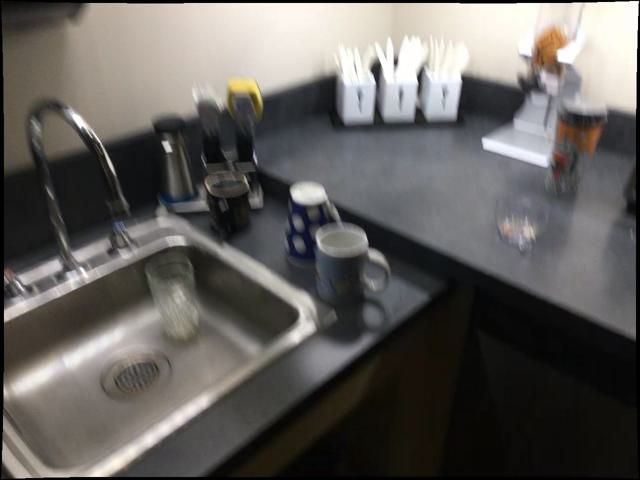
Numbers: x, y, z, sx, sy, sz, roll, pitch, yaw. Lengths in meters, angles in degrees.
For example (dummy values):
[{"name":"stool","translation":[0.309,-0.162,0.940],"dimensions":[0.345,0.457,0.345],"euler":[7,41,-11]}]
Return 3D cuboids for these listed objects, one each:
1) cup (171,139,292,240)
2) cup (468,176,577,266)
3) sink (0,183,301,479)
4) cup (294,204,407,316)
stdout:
[{"name":"cup","translation":[-0.180,-0.110,1.190],"dimensions":[0.180,0.100,0.160],"euler":[27,44,34]},{"name":"cup","translation":[0.369,-0.040,1.050],"dimensions":[0.110,0.060,0.180],"euler":[27,44,34]},{"name":"sink","translation":[-0.349,0.140,0.980],"dimensions":[0.460,0.190,0.430],"euler":[27,44,34]},{"name":"cup","translation":[0.050,0.030,0.980],"dimensions":[0.150,0.100,0.110],"euler":[27,44,34]}]
